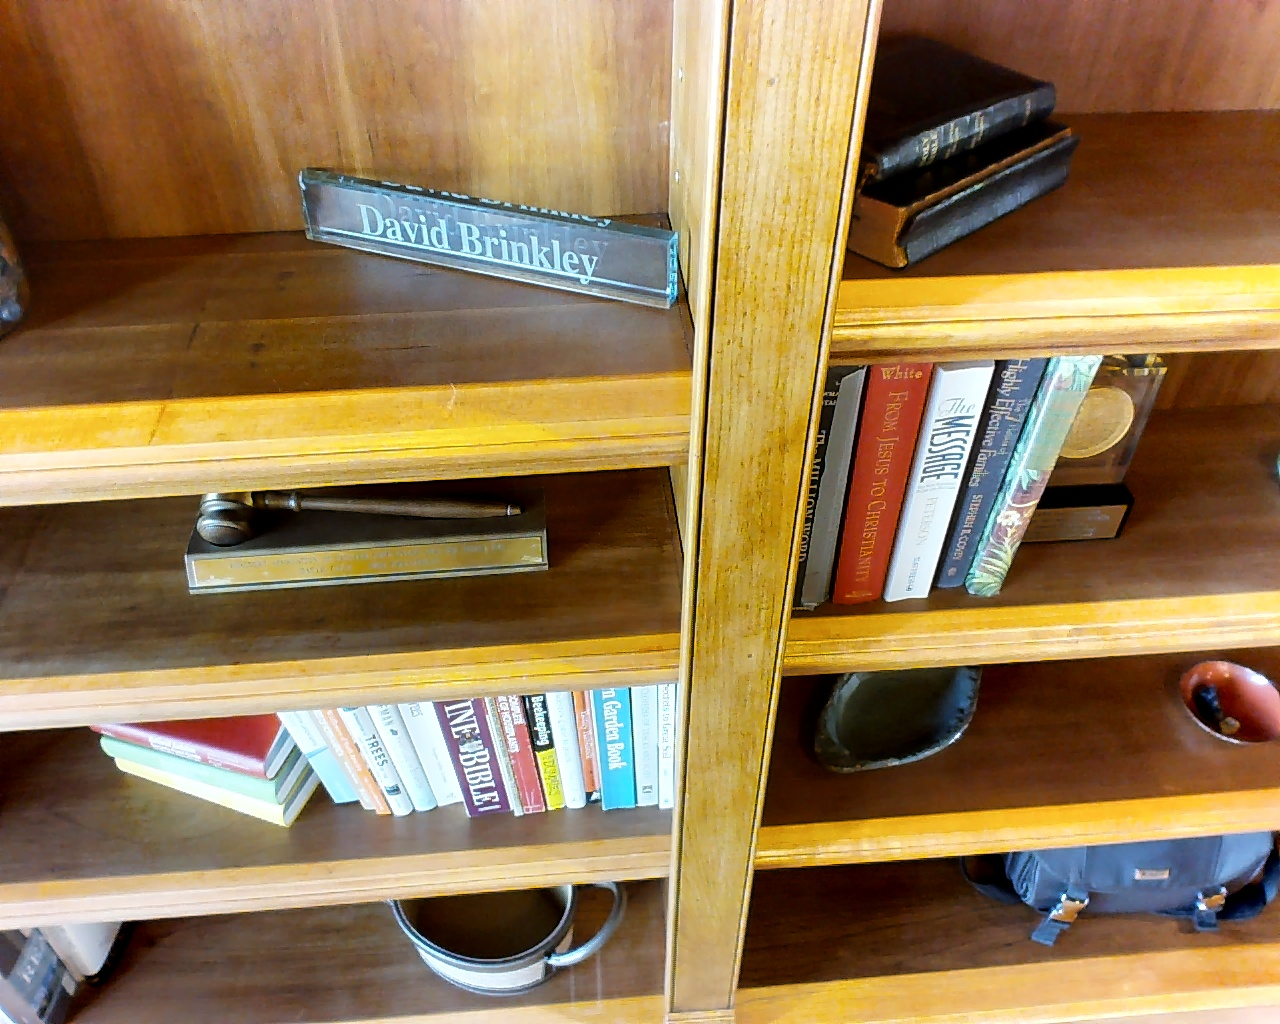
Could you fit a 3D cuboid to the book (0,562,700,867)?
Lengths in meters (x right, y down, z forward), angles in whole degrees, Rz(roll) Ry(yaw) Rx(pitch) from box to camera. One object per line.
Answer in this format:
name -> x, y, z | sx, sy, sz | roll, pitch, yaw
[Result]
book -> -0.250, 0.190, 1.010 | 0.590, 0.200, 0.170 | -2, 42, -3
